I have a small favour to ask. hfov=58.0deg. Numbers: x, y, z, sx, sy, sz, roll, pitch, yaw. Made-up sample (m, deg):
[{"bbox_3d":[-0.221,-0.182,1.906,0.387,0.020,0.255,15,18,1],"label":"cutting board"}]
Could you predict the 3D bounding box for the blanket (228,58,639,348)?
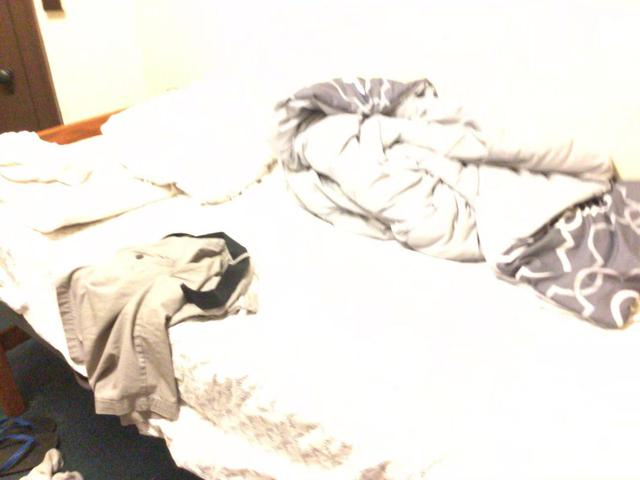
[{"bbox_3d":[0.340,-0.160,1.350,1.100,0.290,0.430,21,36,32],"label":"blanket"}]
